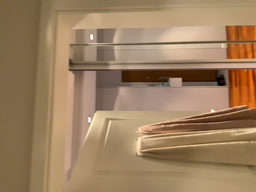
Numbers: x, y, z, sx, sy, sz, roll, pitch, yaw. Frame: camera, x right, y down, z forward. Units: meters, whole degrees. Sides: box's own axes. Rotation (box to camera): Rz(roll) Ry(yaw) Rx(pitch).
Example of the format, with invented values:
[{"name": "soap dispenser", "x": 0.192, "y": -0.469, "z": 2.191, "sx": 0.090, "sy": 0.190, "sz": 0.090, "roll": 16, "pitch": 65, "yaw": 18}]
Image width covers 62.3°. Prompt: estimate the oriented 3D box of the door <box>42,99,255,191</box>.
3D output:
[{"name": "door", "x": 0.660, "y": 0.320, "z": 1.340, "sx": 1.000, "sy": 2.080, "sz": 0.130, "roll": -84, "pitch": -6, "yaw": -62}]
